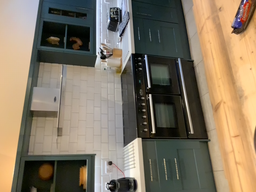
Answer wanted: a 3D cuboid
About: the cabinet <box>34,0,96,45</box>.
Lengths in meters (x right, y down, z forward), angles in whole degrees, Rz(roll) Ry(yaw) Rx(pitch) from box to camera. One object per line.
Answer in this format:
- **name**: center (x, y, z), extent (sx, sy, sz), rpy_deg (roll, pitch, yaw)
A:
- **cabinet**: center (-0.930, -1.280, 3.260), extent (0.340, 0.820, 0.820), rpy_deg (125, 144, -63)
